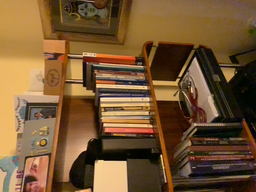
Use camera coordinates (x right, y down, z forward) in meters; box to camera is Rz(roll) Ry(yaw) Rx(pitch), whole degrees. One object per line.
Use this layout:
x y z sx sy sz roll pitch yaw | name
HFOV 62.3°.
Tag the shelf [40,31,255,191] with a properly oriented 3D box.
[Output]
0.470 0.120 1.100 0.360 1.590 0.840 103 164 -51 | shelf
